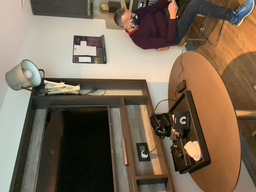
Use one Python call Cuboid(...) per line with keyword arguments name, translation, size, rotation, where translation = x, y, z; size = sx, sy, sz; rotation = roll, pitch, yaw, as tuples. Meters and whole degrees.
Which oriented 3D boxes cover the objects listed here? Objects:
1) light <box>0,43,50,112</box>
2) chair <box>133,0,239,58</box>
Cuboid(name="light", translation=(-0.920, -0.140, 1.730), size=(0.430, 0.460, 0.350), rotation=(102, 164, -46))
Cuboid(name="chair", translation=(0.560, -0.860, 2.320), size=(0.670, 0.860, 0.620), rotation=(129, 140, -72))
